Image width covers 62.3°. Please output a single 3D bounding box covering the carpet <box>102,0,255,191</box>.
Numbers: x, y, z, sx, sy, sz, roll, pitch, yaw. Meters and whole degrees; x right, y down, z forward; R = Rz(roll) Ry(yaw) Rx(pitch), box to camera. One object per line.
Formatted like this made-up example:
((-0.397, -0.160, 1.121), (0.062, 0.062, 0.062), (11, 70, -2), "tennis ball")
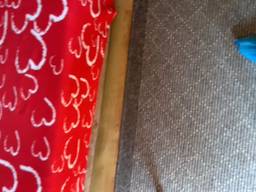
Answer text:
((0.330, 0.170, 0.980), (0.880, 0.050, 2.820), (7, 91, 20), "carpet")
